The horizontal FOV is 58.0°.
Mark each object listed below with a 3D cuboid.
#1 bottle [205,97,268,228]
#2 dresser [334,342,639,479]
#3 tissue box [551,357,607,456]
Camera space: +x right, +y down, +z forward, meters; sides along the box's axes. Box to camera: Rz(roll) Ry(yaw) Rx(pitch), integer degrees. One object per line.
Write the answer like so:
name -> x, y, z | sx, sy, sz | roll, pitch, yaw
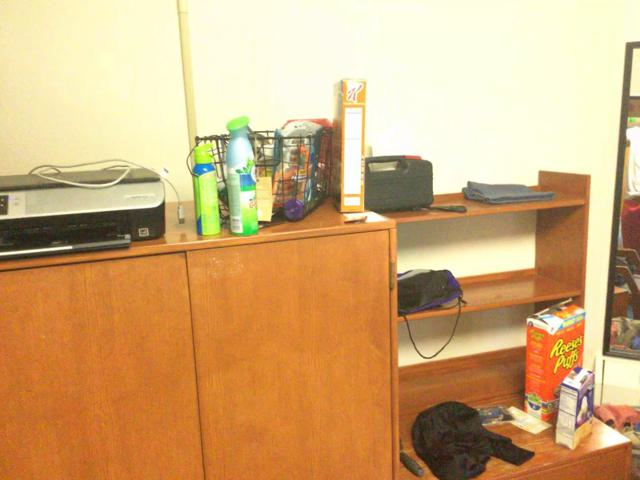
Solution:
bottle -> -0.160, -0.150, 1.120 | 0.070, 0.240, 0.080 | 3, 11, 27
dresser -> 0.510, 0.840, 1.870 | 0.710, 0.710, 0.670 | -7, 13, -16
tissue box -> 0.740, 0.470, 1.650 | 0.090, 0.210, 0.170 | 6, 13, 41
